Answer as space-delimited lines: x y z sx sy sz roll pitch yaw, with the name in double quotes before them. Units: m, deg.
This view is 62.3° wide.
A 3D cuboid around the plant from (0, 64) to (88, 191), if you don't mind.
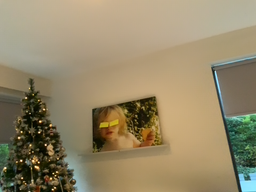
"plant" -1.070 0.880 2.110 0.900 2.010 0.980 -12 -14 22
